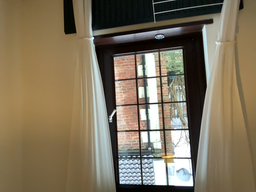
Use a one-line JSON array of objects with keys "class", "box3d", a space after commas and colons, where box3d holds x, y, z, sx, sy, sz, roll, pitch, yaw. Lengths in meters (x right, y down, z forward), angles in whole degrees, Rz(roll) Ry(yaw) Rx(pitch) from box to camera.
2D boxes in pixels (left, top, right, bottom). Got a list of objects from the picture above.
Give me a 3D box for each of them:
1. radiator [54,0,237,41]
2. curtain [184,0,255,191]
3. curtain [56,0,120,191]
[{"class": "radiator", "box3d": [0.080, -0.930, 1.850, 1.550, 0.730, 0.050, -4, 176, 11]}, {"class": "curtain", "box3d": [0.760, -0.110, 1.580, 0.540, 2.470, 0.220, -4, 176, 11]}, {"class": "curtain", "box3d": [-0.360, -0.050, 1.880, 0.450, 2.460, 0.190, -4, 176, 11]}]
